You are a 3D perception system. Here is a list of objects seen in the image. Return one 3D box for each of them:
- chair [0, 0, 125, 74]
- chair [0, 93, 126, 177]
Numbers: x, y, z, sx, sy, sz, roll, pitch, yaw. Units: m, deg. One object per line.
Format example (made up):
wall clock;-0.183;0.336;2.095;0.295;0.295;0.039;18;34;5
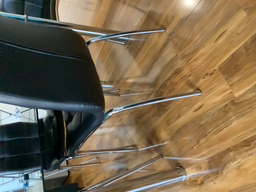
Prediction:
chair;-0.620;-0.550;1.510;0.420;0.960;0.640;-56;46;44
chair;-0.600;0.280;1.490;0.550;0.960;0.410;-39;58;53
